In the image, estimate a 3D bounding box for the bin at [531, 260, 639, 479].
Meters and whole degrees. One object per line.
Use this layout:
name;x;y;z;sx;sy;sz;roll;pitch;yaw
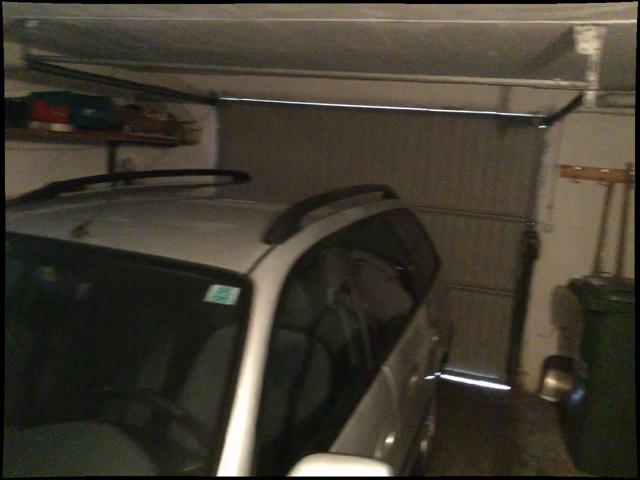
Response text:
bin;1.548;0.741;3.020;0.699;1.141;0.520;6;8;17
